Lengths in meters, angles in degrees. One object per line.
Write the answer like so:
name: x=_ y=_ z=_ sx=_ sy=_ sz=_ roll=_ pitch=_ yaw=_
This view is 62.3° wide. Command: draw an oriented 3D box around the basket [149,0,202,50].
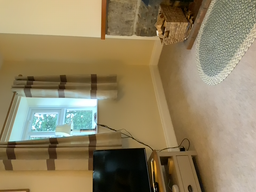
basket: x=0.480 y=-0.750 z=2.270 sx=0.360 sy=0.400 sz=0.340 roll=102 pitch=165 yaw=-51

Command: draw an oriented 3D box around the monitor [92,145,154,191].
monitor: x=-0.040 y=0.910 z=1.940 sx=0.040 sy=0.570 sz=0.960 roll=104 pitch=165 yaw=-52
